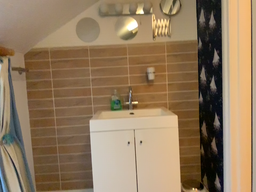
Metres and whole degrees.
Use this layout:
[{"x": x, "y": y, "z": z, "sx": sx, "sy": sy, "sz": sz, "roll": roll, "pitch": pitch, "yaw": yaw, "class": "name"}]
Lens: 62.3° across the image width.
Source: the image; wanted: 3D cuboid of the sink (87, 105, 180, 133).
[{"x": 0.030, "y": 0.160, "z": 1.630, "sx": 0.610, "sy": 0.080, "sz": 0.470, "roll": -3, "pitch": 5, "yaw": -2, "class": "sink"}]
